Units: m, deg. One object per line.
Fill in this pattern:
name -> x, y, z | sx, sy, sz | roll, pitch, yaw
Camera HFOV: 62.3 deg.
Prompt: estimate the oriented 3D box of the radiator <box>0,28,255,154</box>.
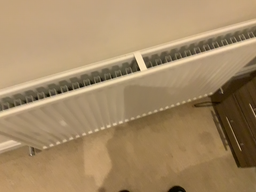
radiator -> 0.040, 0.030, 0.940 | 1.030, 0.650, 0.070 | -16, 71, -8
